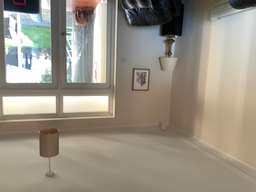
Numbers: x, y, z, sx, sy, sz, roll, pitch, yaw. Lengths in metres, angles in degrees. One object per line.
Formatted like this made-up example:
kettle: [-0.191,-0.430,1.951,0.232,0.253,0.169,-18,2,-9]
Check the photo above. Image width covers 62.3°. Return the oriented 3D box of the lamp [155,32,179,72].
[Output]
lamp: [0.670,-0.750,3.690,0.300,0.650,0.230,-1,-171,-19]

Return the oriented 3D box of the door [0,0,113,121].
door: [-1.550,-0.900,3.320,2.620,2.580,0.120,-1,-171,-18]
